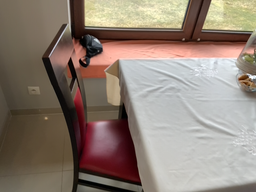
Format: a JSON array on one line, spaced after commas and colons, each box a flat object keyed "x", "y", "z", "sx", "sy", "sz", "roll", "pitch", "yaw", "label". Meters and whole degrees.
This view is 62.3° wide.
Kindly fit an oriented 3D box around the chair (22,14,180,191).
[{"x": -0.130, "y": 0.190, "z": 1.130, "sx": 0.470, "sy": 1.040, "sz": 0.440, "roll": 5, "pitch": 39, "yaw": -4, "label": "chair"}]
